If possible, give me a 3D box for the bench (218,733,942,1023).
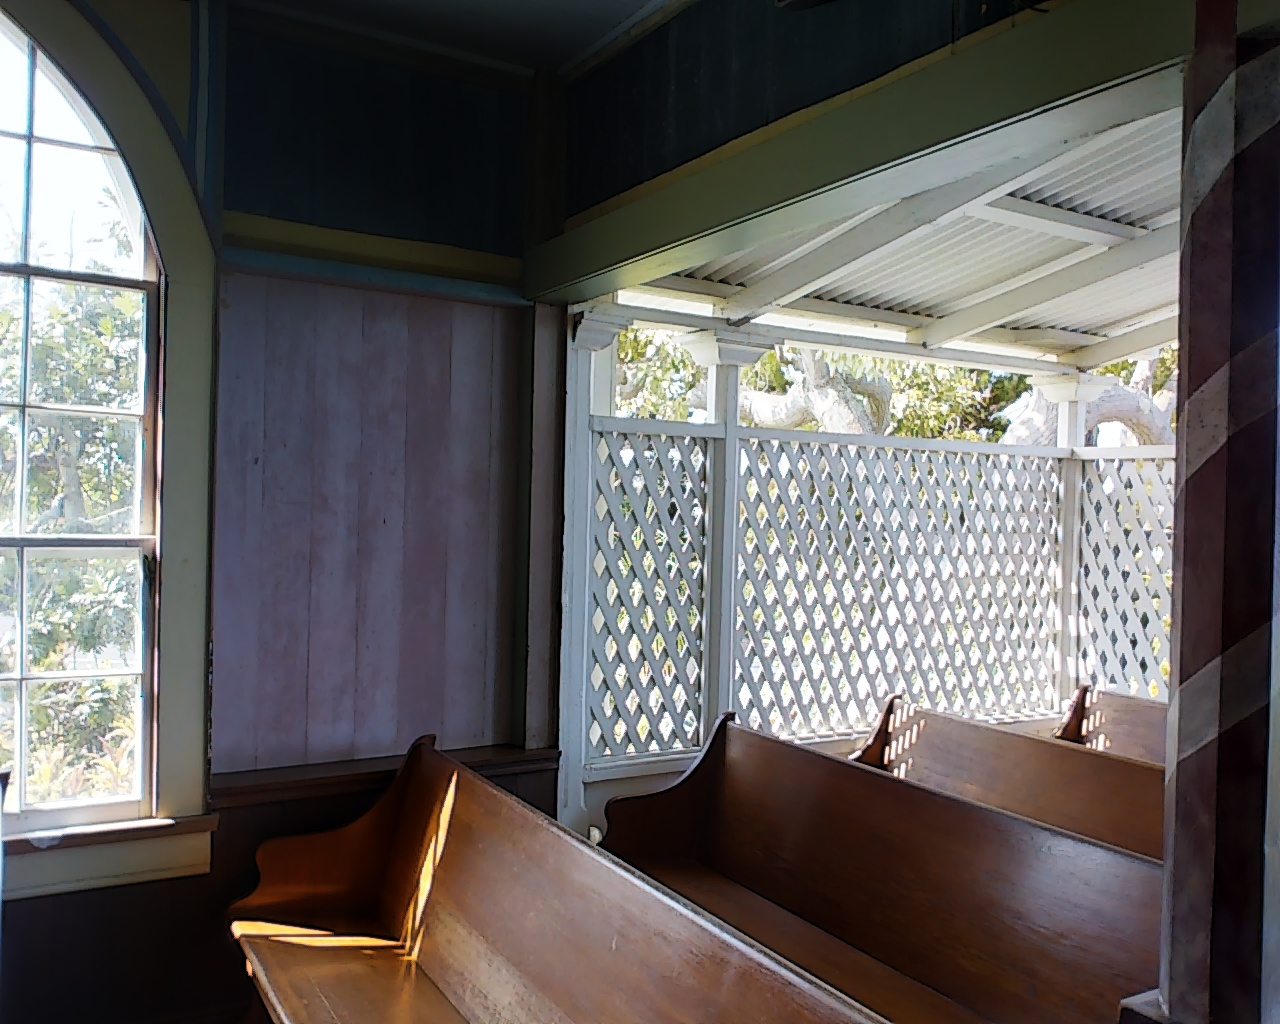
[{"bbox_3d":[-0.280,1.070,1.960,0.570,0.860,2.240,2,0,-30],"label":"bench"}]

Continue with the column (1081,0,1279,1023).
[{"bbox_3d":[0.810,0.200,1.440,0.240,2.691,0.290,2,0,-30],"label":"column"}]

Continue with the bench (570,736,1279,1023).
[{"bbox_3d":[0.600,1.150,2.430,0.560,0.810,2.230,2,0,-30],"label":"bench"}]

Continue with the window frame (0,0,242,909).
[{"bbox_3d":[-1.540,-0.230,2.470,1.110,2.271,0.120,2,0,-30],"label":"window frame"}]
